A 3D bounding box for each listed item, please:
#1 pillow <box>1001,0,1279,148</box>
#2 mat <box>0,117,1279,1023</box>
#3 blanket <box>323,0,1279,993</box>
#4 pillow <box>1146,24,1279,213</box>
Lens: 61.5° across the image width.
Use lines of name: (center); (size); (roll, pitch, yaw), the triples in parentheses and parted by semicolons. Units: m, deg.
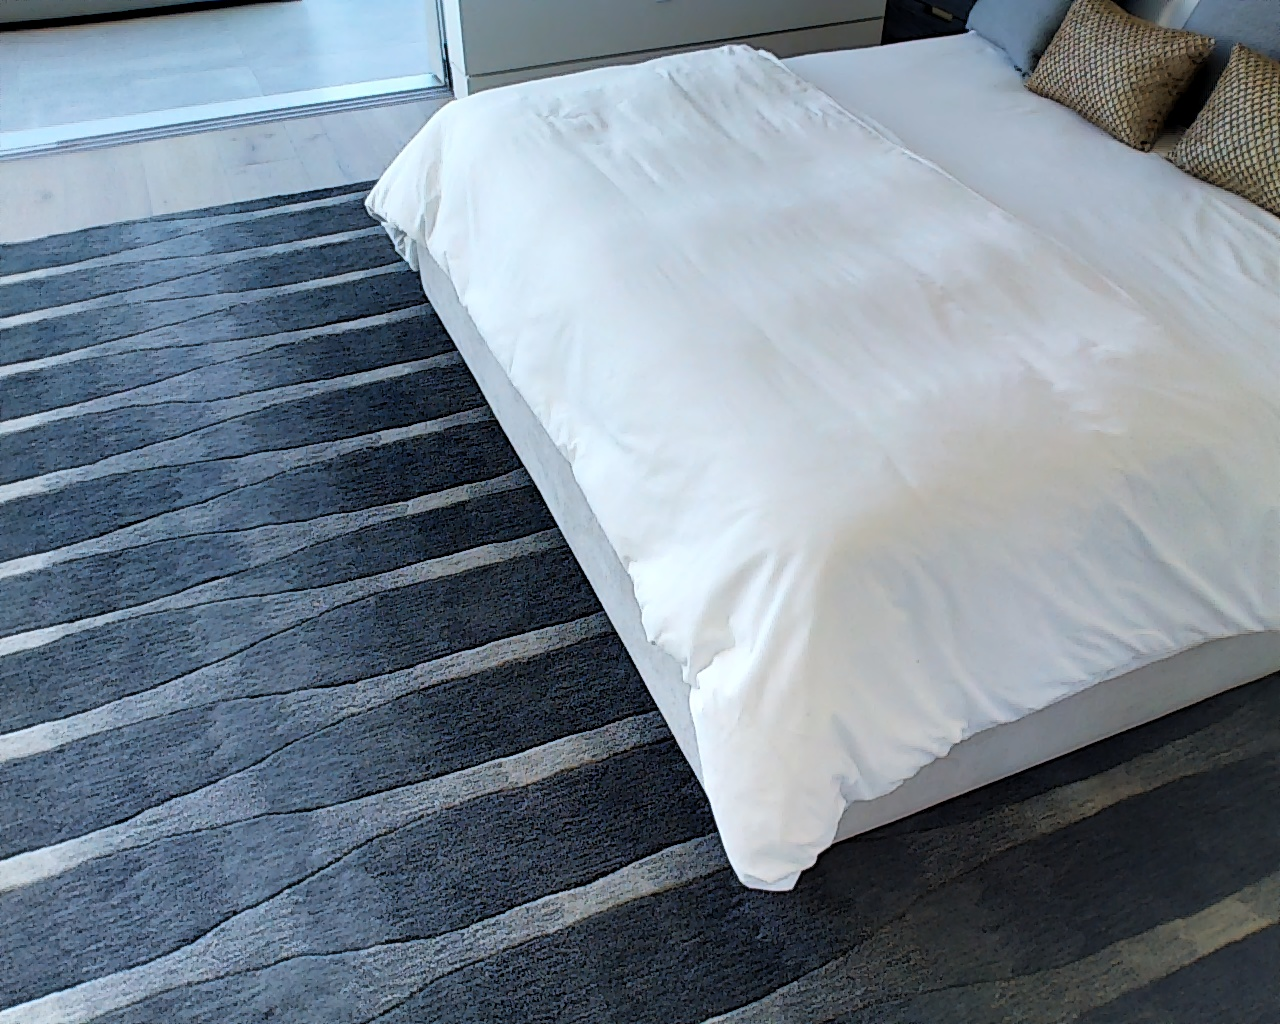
pillow: (1.160, -1.080, 2.500); (0.350, 0.240, 0.480); (-15, 44, -17)
mat: (-0.390, 0.020, 2.330); (2.810, 0.040, 3.680); (-15, 44, -17)
blanket: (0.150, -0.420, 2.330); (1.120, 0.700, 2.370); (-15, 44, -17)
pillow: (1.350, -0.790, 2.180); (0.320, 0.220, 0.450); (-18, 45, -20)
